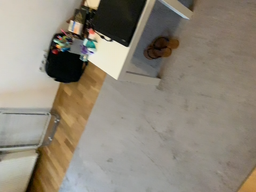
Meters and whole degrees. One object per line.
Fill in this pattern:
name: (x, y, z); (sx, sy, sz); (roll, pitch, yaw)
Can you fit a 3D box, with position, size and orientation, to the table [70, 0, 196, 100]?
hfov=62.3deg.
table: (0.010, -0.390, 1.590); (0.610, 0.470, 0.630); (34, 110, 37)
